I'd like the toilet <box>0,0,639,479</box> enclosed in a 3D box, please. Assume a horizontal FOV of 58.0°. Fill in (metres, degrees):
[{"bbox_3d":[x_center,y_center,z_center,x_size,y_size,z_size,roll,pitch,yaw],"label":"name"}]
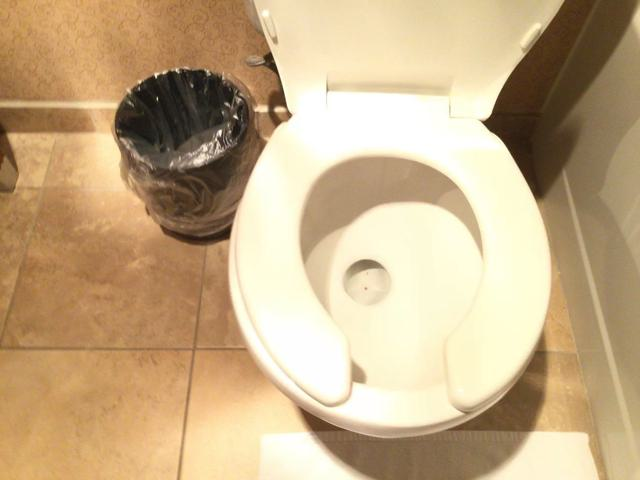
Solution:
[{"bbox_3d":[0.110,-0.120,0.710,0.480,0.770,0.680,0,60,1],"label":"toilet"}]
